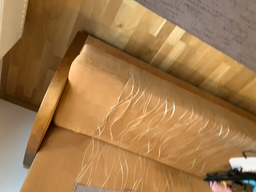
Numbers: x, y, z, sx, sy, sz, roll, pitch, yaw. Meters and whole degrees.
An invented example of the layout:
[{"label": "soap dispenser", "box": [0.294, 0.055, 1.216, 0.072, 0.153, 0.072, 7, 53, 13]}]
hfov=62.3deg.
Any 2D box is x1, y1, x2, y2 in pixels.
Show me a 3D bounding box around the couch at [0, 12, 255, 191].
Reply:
[{"label": "couch", "box": [0.360, 0.540, 1.510, 2.030, 0.970, 1.040, 23, 132, -15]}]
